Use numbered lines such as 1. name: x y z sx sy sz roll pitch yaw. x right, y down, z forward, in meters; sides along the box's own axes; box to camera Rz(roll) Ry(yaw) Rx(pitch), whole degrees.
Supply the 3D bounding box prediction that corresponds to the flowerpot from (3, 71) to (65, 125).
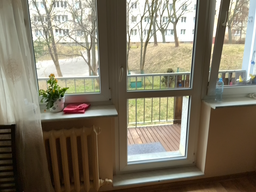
1. flowerpot: -0.740 0.000 1.740 0.400 0.360 0.260 -5 17 -16
